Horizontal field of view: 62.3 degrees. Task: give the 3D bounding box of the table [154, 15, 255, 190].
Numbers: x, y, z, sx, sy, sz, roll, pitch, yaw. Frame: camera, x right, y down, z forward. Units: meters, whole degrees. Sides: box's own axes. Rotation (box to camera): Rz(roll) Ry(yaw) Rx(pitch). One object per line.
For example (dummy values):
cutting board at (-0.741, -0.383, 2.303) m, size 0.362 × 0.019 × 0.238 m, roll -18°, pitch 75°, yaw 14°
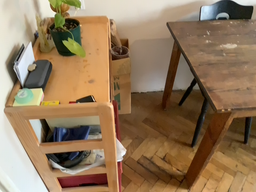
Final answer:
table at (1.010, -0.010, 1.480) m, size 1.430 × 0.770 × 0.870 m, roll -3°, pitch 44°, yaw -5°
